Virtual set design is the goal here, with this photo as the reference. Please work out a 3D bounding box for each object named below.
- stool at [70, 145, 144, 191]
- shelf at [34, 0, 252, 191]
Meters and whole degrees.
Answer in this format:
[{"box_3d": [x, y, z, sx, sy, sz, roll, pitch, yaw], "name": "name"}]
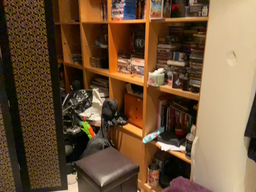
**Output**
[{"box_3d": [-0.180, 0.770, 1.900, 0.460, 0.370, 0.450, 16, 23, 42], "name": "stool"}, {"box_3d": [-0.190, -0.250, 2.300, 0.520, 2.080, 2.440, -15, 23, -41], "name": "shelf"}]
